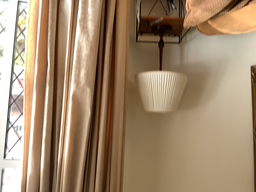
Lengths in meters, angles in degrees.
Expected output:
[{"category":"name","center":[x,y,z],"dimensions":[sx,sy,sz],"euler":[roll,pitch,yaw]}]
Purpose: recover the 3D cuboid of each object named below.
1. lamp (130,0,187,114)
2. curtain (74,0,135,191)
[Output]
[{"category":"lamp","center":[0.280,-0.300,1.730],"dimensions":[0.370,0.860,0.500],"euler":[0,174,18]},{"category":"curtain","center":[-0.140,0.250,1.480],"dimensions":[0.180,2.190,0.490],"euler":[-1,173,20]}]
